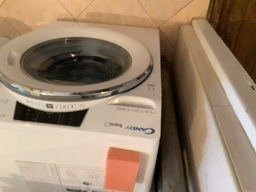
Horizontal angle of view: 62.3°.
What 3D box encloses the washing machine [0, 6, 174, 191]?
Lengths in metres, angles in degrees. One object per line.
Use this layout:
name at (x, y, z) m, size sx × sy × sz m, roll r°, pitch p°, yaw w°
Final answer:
washing machine at (-0.190, -0.040, 0.980) m, size 0.640 × 0.840 × 0.480 m, roll 6°, pitch 125°, yaw 2°
